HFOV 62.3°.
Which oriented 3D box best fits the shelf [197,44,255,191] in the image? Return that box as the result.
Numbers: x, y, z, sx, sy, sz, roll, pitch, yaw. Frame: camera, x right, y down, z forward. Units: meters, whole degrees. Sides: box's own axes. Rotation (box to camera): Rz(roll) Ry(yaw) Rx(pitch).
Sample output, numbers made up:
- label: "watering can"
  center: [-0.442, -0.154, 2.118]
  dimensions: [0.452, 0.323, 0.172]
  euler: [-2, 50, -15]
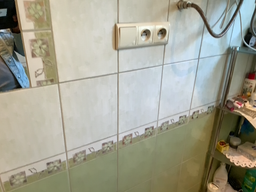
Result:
- label: "shelf"
  center: [0.680, 0.400, 1.280]
  dimensions: [0.330, 1.350, 0.270]
  euler: [-15, 29, -31]
